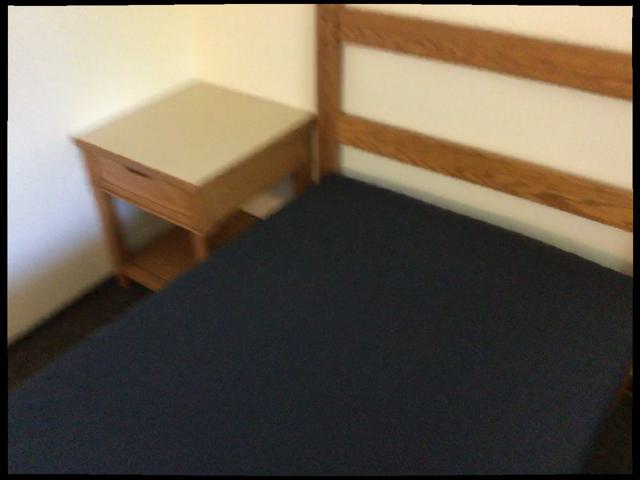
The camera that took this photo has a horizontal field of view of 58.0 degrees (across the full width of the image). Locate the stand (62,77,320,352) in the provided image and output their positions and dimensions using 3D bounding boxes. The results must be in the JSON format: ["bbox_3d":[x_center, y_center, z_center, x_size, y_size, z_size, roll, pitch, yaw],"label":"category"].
[{"bbox_3d":[-0.369,-0.110,1.890,0.529,0.581,0.530,21,43,26],"label":"stand"}]
